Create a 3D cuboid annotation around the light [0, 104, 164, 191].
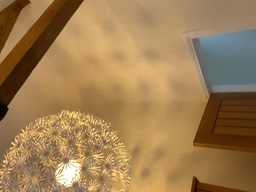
[{"bbox_3d":[-0.880,0.560,1.940,1.100,2.110,0.900,-3,-88,-58],"label":"light"}]
